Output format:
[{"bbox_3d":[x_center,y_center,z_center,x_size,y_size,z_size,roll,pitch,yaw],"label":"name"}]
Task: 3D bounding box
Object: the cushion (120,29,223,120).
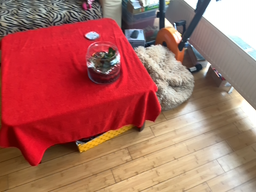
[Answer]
[{"bbox_3d":[0.300,-0.200,1.720,0.570,0.320,0.570,-15,52,-15],"label":"cushion"}]
